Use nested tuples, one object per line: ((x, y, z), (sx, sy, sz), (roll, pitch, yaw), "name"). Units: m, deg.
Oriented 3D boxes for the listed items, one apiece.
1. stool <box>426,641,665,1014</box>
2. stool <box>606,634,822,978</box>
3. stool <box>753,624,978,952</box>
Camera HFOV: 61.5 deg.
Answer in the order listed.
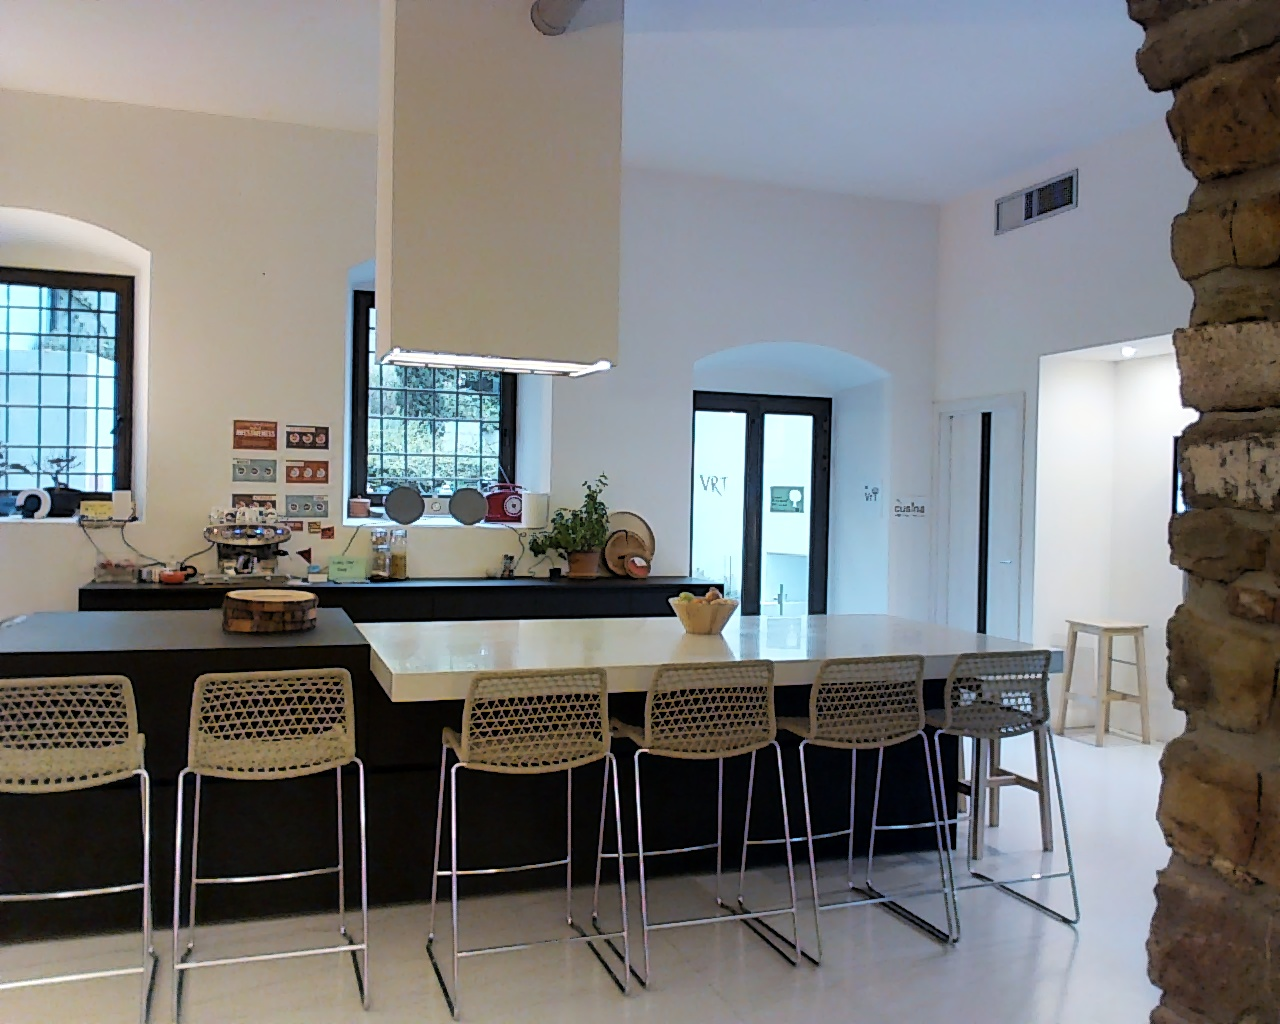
((-0.310, 0.910, 3.320), (0.580, 0.930, 0.570), (1, 1, -22), "stool")
((0.230, 0.910, 3.520), (0.530, 0.950, 0.470), (1, 1, -23), "stool")
((0.760, 0.900, 3.710), (0.530, 0.950, 0.540), (1, 1, -22), "stool")
